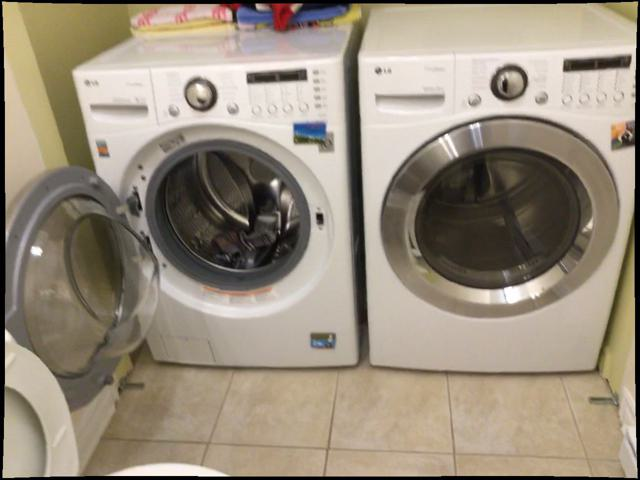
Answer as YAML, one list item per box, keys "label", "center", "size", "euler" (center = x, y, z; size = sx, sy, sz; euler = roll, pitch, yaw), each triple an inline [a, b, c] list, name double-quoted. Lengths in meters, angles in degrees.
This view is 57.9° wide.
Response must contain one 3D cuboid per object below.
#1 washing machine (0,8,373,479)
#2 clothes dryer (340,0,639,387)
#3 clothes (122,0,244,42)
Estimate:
- label: "washing machine"
  center: [-0.260, -0.010, 1.620]
  size: [0.749, 0.971, 1.190]
  euler: [0, 31, 8]
- label: "clothes dryer"
  center: [0.499, -0.210, 1.860]
  size: [0.749, 0.971, 0.870]
  euler: [0, 31, 8]
- label: "clothes"
  center: [-0.420, -0.691, 1.810]
  size: [0.320, 0.080, 0.190]
  euler: [0, 31, 8]
